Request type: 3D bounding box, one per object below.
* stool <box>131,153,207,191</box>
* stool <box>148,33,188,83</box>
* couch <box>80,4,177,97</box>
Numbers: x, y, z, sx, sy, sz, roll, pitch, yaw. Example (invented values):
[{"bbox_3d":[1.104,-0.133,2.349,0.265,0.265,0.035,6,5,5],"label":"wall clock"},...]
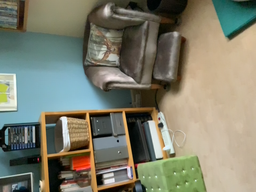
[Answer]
[{"bbox_3d":[0.320,0.710,1.700,0.420,0.380,0.400,-35,61,57],"label":"stool"},{"bbox_3d":[0.340,-0.330,1.850,0.250,0.170,0.400,25,113,59],"label":"stool"},{"bbox_3d":[-0.060,-0.450,2.110,0.770,0.600,0.710,32,119,57],"label":"couch"}]
